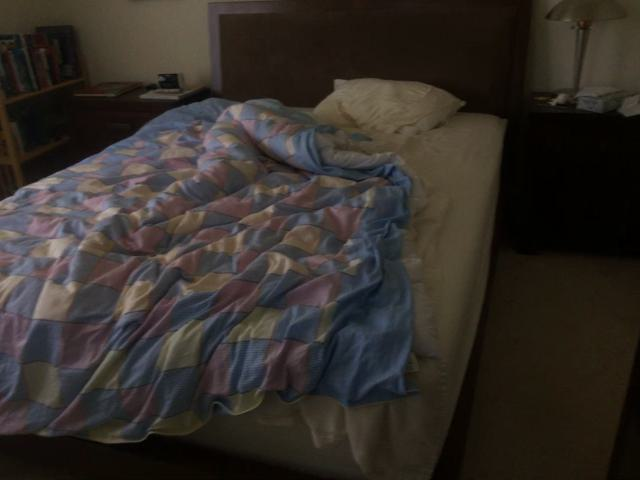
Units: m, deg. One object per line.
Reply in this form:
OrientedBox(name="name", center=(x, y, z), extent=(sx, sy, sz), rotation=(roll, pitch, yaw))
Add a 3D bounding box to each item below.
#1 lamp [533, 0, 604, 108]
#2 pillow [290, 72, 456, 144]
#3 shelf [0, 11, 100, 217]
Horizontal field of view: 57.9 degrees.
OrientedBox(name="lamp", center=(1.030, -0.800, 2.420), extent=(0.190, 0.410, 0.330), rotation=(9, 27, 18))
OrientedBox(name="pillow", center=(0.240, -0.590, 2.510), extent=(0.610, 0.170, 0.430), rotation=(10, 27, 19))
OrientedBox(name="shelf", center=(-1.650, -0.720, 3.200), extent=(0.330, 0.970, 0.660), rotation=(9, 27, 18))
